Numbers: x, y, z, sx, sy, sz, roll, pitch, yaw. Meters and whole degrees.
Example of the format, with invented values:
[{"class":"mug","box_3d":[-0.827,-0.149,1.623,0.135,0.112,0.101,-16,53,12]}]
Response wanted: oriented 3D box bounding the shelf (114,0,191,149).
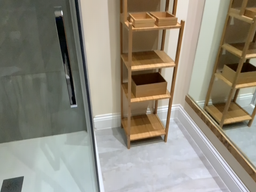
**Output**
[{"class":"shelf","box_3d":[0.130,-0.360,1.430,0.380,1.630,0.310,-7,34,-12]}]
